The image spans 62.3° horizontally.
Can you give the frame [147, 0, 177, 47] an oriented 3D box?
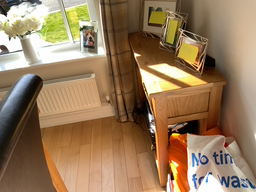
[{"bbox_3d":[0.230,-0.520,1.470,0.140,0.240,0.300,-8,35,1],"label":"frame"}]
